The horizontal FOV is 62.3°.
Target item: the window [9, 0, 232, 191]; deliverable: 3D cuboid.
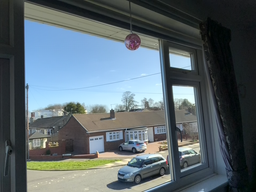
[{"bbox_3d":[0.170,0.090,1.670,1.900,1.410,0.220,0,-6,-38],"label":"window"}]
